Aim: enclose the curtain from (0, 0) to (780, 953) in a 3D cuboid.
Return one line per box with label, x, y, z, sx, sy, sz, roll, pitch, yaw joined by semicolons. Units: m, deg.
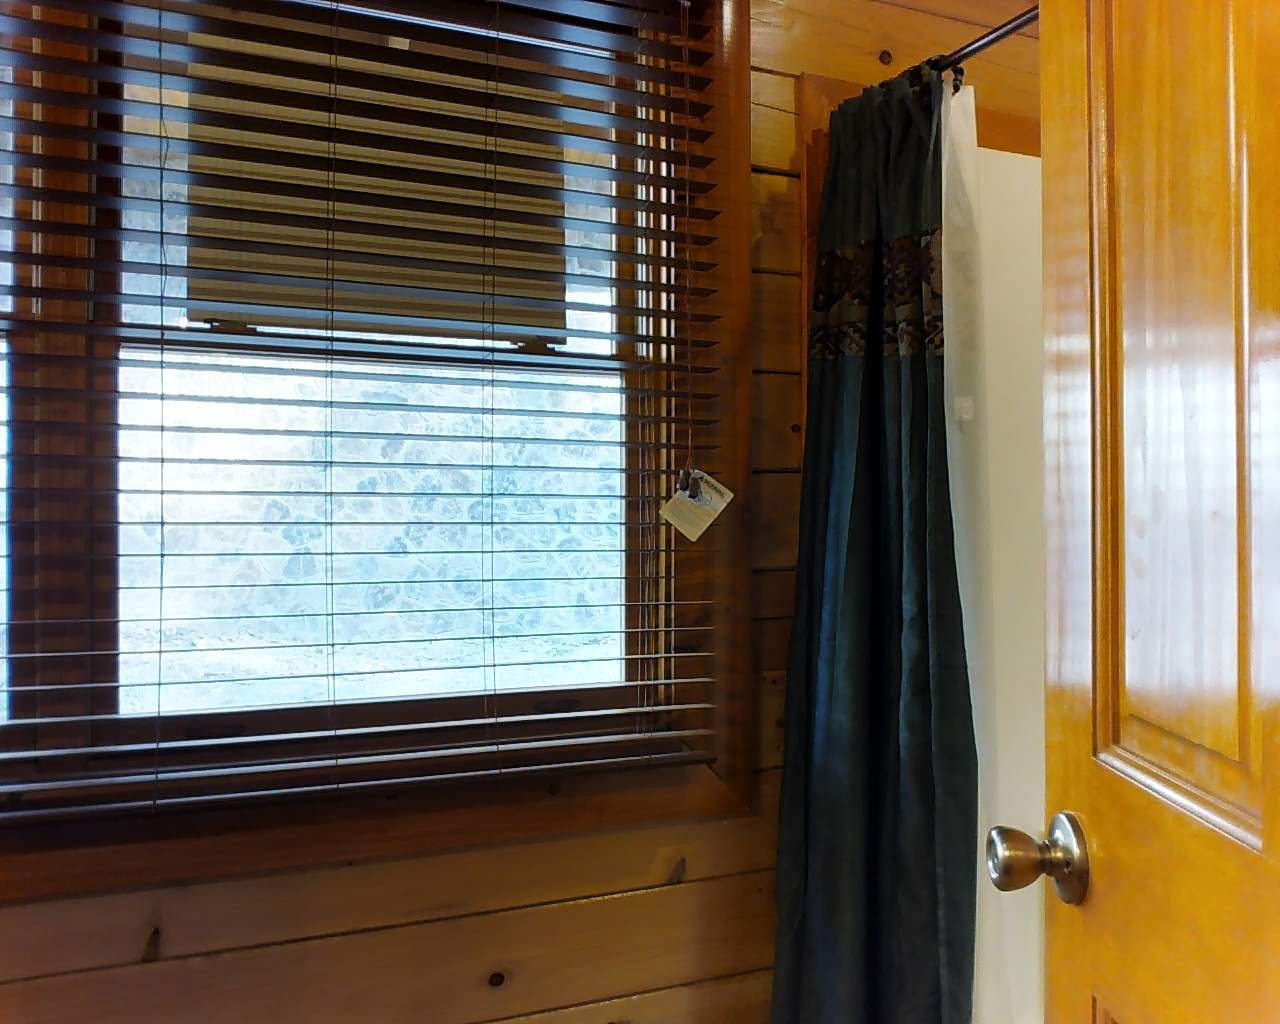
curtain;-0.830;-0.220;1.540;2.199;1.571;0.300;0;0;-24
